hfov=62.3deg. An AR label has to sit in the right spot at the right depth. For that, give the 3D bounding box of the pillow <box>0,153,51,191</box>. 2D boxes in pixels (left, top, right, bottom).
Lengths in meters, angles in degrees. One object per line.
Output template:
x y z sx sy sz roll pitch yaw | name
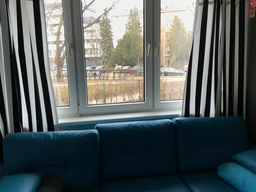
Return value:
-0.750 0.600 1.440 0.310 0.140 0.620 -2 10 -8 | pillow

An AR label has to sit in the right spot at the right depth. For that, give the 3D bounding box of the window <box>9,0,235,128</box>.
-0.010 -0.470 2.240 2.190 1.510 0.230 -2 10 -5 | window

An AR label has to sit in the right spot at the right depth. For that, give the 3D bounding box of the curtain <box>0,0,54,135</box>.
-0.980 -0.500 1.790 0.540 1.680 0.100 -2 10 -8 | curtain
